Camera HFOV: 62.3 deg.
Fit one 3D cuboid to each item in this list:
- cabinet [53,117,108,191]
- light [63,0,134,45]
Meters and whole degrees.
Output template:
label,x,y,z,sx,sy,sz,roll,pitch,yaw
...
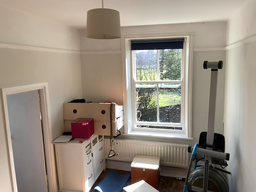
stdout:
label,x,y,z,sx,sy,sz,roll,pitch,yaw
cabinet,-0.730,0.920,3.520,0.510,0.890,0.930,1,-81,14
light,-0.220,-0.660,1.700,0.390,0.390,0.370,-14,-84,14
